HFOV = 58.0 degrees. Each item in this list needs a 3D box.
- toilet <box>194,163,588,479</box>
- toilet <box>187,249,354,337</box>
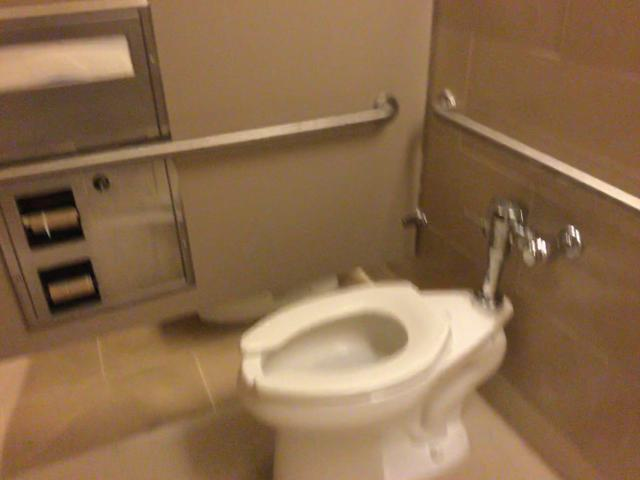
[{"bbox_3d":[0.150,0.280,1.410,0.740,0.730,0.390,-13,30,-19],"label":"toilet"},{"bbox_3d":[-0.180,0.190,2.190,0.600,0.110,0.180,-13,31,-19],"label":"toilet"}]
